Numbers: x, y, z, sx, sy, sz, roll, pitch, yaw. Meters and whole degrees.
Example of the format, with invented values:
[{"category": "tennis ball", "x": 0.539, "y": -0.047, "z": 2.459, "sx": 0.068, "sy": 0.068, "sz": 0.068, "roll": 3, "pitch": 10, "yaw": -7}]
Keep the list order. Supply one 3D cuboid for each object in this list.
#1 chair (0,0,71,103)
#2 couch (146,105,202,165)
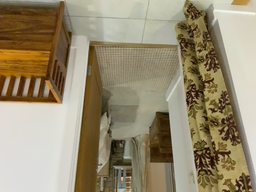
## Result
[{"category": "chair", "x": -0.950, "y": -0.320, "z": 1.490, "sx": 0.950, "sy": 0.640, "sz": 0.340, "roll": 1, "pitch": 155, "yaw": -2}, {"category": "couch", "x": 0.720, "y": 0.730, "z": 3.710, "sx": 0.640, "sy": 0.790, "sz": 1.070, "roll": 1, "pitch": 155, "yaw": -3}]
